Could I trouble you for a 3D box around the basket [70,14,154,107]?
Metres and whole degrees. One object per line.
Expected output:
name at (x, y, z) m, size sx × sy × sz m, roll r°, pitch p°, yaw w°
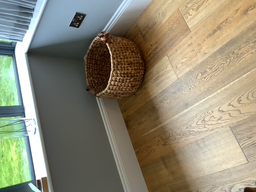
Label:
basket at (-0.170, -0.280, 1.870) m, size 0.530 × 0.370 × 0.560 m, roll -39°, pitch 62°, yaw 42°
